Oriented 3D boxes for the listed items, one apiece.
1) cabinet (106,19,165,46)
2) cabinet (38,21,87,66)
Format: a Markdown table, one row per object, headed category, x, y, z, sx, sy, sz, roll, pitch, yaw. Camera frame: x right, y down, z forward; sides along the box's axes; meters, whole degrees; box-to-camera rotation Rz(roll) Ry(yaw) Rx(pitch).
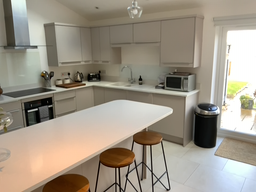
| category | x | y | z | sx | sy | sz | roll | pitch | yaw |
| --- | --- | --- | --- | --- | --- | --- | --- | --- | --- |
| cabinet | 0.130 | -1.240 | 4.270 | 1.120 | 0.450 | 0.460 | 9 | 15 | 34 |
| cabinet | -1.360 | -1.110 | 4.550 | 0.420 | 0.830 | 0.890 | 9 | 15 | 34 |
